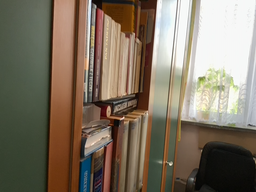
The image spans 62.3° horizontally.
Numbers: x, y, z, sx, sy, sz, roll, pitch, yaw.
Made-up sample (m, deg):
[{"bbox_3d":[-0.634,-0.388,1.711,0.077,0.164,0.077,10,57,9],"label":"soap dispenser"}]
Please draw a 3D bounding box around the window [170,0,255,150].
[{"bbox_3d":[1.120,-0.310,2.050,1.260,1.580,0.240,5,6,19],"label":"window"}]
